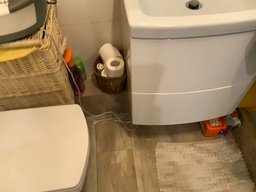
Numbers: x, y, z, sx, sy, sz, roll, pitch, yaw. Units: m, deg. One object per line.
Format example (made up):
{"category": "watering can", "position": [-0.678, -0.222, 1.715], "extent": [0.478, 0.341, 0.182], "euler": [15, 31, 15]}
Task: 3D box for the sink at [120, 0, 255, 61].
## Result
{"category": "sink", "position": [0.260, -0.360, 0.790], "extent": [0.560, 0.110, 0.450], "euler": [-7, 55, -3]}
